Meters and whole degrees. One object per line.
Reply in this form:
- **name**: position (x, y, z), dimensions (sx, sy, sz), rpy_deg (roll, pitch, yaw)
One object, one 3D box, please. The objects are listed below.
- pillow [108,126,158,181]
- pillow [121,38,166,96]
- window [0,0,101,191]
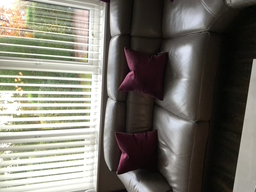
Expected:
- **pillow**: position (0.030, 0.550, 2.060), dimensions (0.370, 0.300, 0.320), rpy_deg (-113, 33, -43)
- **pillow**: position (0.150, -0.250, 1.910), dimensions (0.330, 0.300, 0.450), rpy_deg (-16, -66, -77)
- **window**: position (-1.020, 0.080, 2.260), dimensions (0.110, 1.390, 2.370), rpy_deg (-164, 76, -66)
